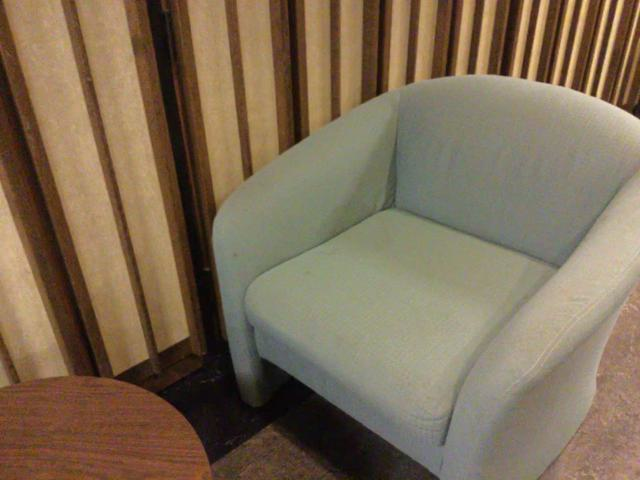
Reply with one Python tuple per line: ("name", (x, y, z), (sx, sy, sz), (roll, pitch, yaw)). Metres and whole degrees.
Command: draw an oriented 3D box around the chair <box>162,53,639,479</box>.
("chair", (0.310, 0.090, 1.480), (0.930, 0.800, 0.900), (-27, 39, -33))
